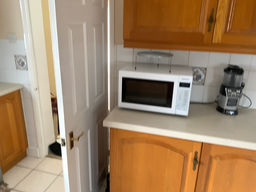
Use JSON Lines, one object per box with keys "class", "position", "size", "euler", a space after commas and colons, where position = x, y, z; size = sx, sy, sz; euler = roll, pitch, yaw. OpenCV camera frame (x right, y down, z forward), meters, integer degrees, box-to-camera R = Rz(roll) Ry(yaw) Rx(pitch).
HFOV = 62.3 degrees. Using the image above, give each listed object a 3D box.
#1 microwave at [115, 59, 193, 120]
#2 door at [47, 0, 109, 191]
{"class": "microwave", "position": [0.210, -0.080, 1.610], "size": [0.500, 0.310, 0.420], "euler": [7, 20, 15]}
{"class": "door", "position": [-0.300, 0.020, 1.610], "size": [0.060, 1.930, 0.820], "euler": [6, 19, 11]}
